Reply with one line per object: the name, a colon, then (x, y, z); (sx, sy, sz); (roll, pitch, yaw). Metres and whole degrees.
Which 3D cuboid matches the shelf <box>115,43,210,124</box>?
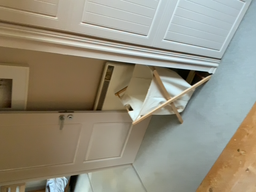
shelf: (0.290, -0.110, 1.980); (0.470, 0.560, 0.530); (58, 136, 43)
